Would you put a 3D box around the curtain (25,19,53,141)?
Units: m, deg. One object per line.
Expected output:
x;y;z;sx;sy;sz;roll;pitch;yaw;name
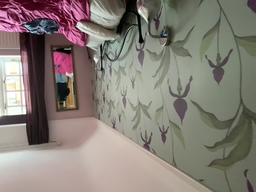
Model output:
-1.570;-0.280;3.780;0.320;2.100;0.150;-4;-178;-17;curtain
